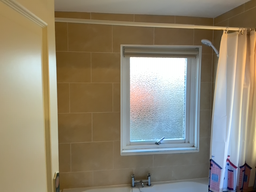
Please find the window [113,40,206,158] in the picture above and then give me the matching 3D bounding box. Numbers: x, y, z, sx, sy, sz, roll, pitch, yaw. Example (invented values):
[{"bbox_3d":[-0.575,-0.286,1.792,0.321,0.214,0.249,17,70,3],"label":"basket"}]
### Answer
[{"bbox_3d":[0.350,0.030,2.480,1.010,1.270,0.280,-1,6,-10],"label":"window"}]
